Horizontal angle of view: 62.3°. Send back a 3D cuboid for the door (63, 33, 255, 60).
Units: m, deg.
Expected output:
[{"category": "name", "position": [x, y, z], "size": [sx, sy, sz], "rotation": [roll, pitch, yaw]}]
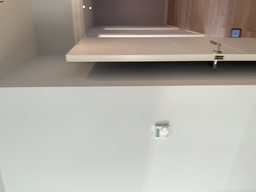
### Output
[{"category": "door", "position": [0.550, -0.440, 1.800], "size": [0.900, 1.960, 0.040], "rotation": [-96, 7, -66]}]
